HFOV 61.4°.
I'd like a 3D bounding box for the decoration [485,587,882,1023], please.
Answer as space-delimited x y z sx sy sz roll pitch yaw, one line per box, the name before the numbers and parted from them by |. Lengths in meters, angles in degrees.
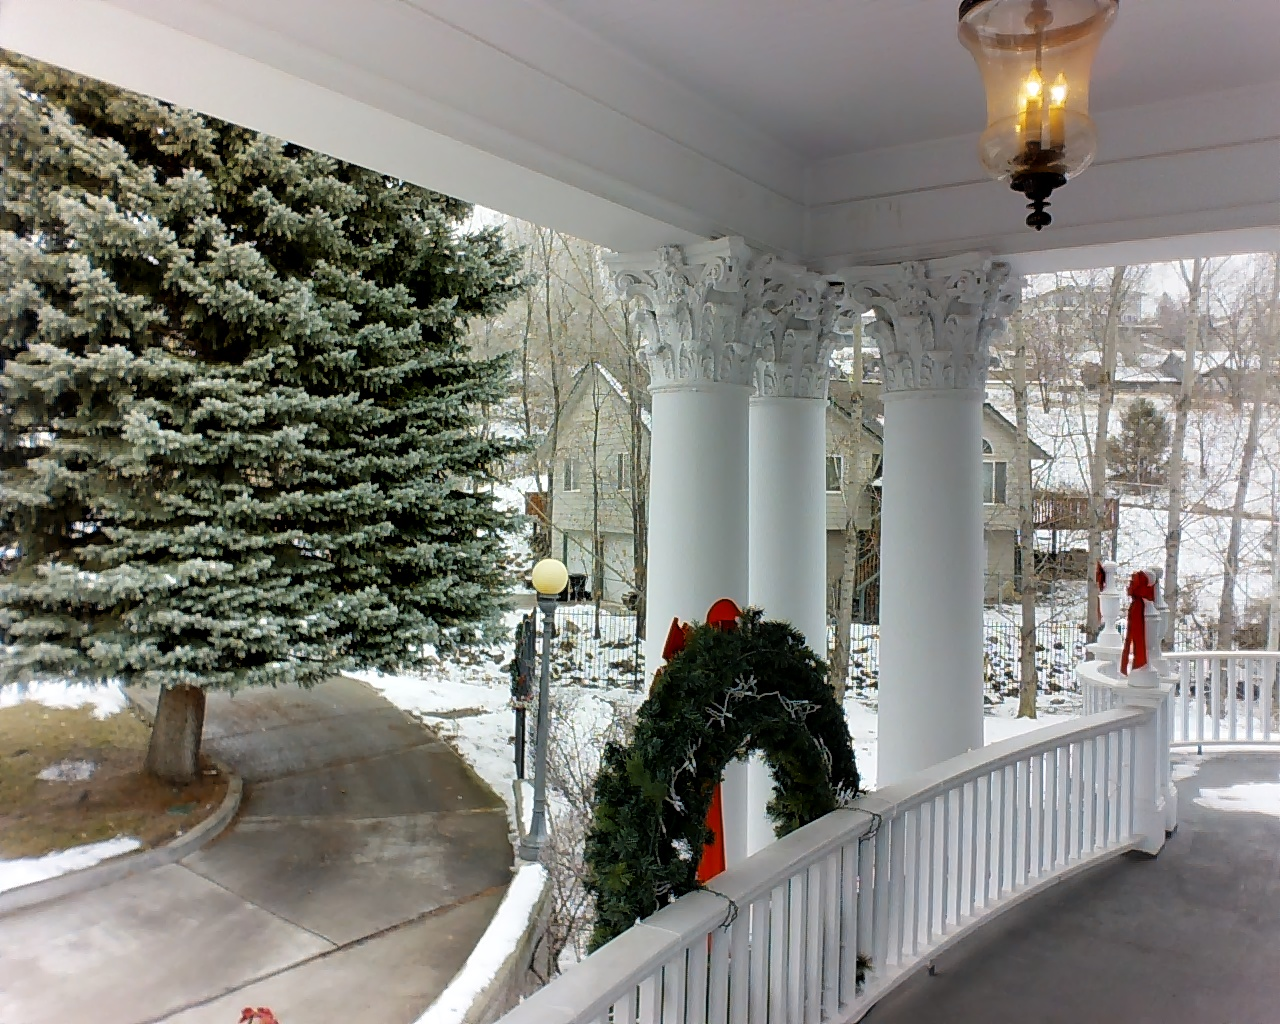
decoration | 0.220 0.850 3.080 0.400 1.170 1.520 0 0 34
